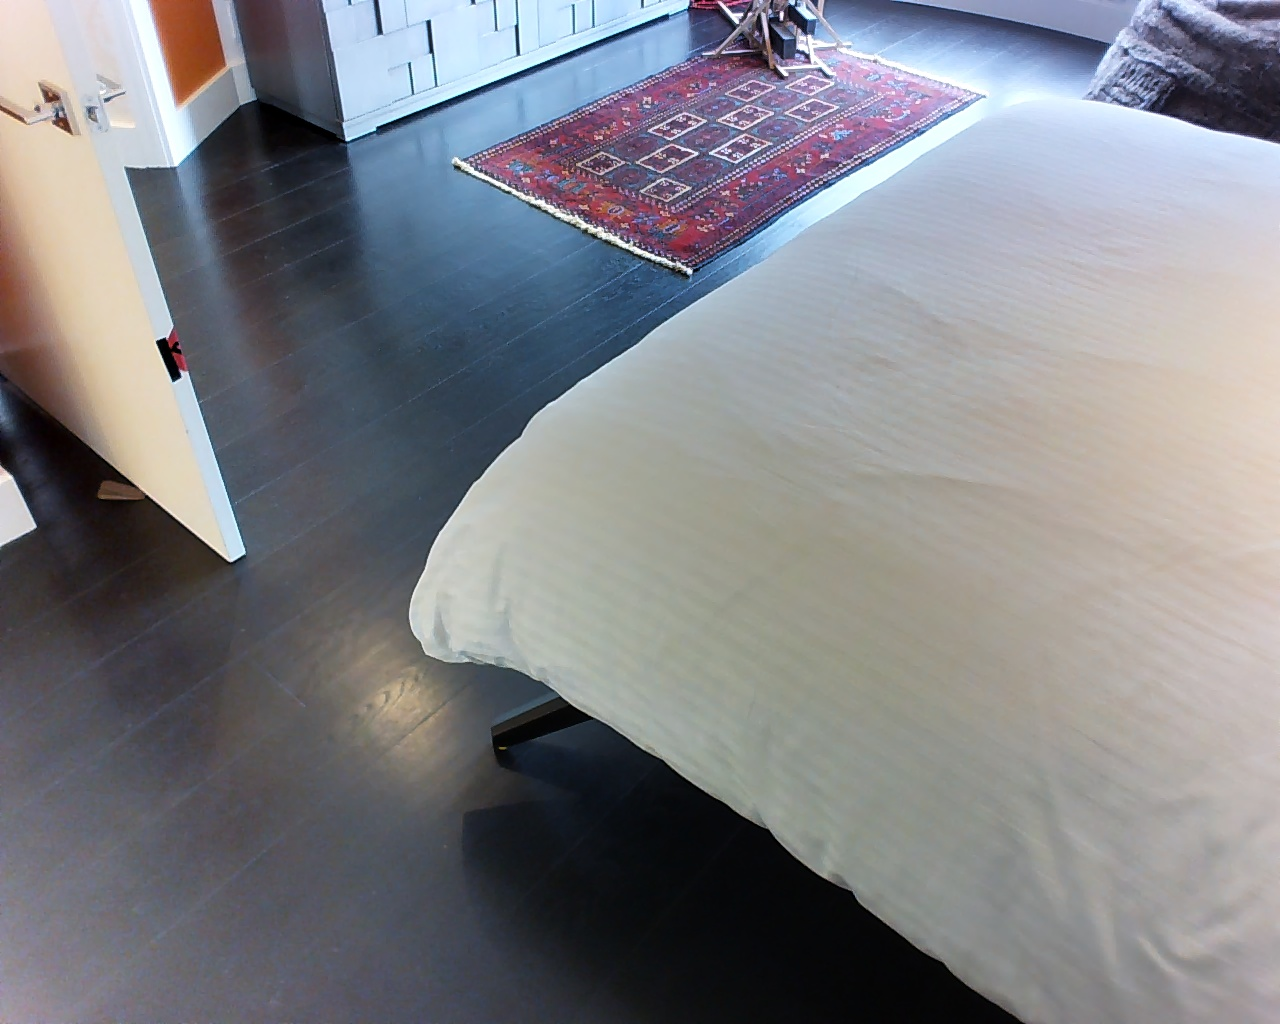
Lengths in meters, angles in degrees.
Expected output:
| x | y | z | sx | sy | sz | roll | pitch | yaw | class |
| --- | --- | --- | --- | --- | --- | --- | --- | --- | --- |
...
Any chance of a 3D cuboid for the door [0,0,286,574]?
| x | y | z | sx | sy | sz | roll | pitch | yaw | class |
| --- | --- | --- | --- | --- | --- | --- | --- | --- | --- |
| -1.040 | -0.840 | 1.650 | 0.810 | 2.040 | 0.110 | 31 | 50 | 28 | door |
